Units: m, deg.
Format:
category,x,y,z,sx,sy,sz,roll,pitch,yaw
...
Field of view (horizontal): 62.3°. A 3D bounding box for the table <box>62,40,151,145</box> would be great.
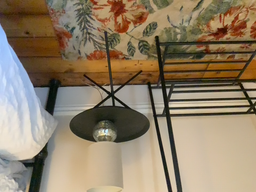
category,x,y,z,sx,sy,sz,roll,pitch,yaw
table,-0.110,-0.010,1.190,0.380,0.440,0.390,-1,146,-4
